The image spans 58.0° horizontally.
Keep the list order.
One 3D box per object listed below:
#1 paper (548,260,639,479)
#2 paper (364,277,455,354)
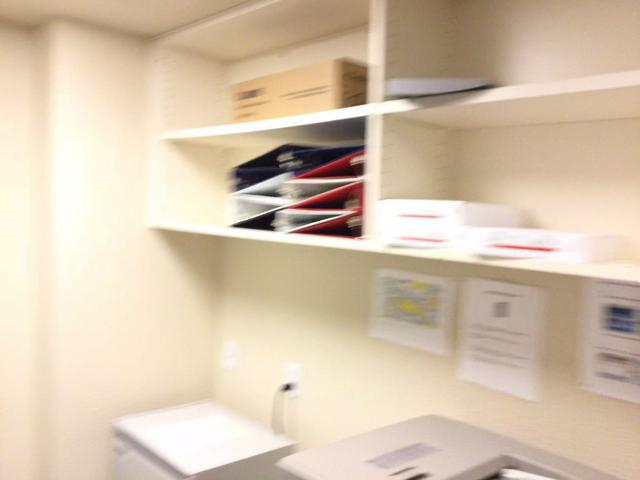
[{"bbox_3d":[0.700,0.310,1.160,0.050,0.510,0.440,7,-2,-42],"label":"paper"},{"bbox_3d":[0.250,0.210,1.660,0.030,0.180,0.290,7,-2,-42],"label":"paper"}]
